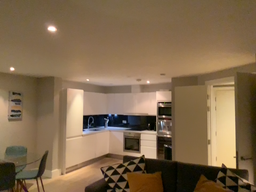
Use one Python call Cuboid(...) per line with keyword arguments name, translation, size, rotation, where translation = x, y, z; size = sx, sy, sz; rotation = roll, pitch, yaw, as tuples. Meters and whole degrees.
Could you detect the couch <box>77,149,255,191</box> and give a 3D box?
Cuboid(name="couch", translation=(0.510, 1.330, 2.550), size=(1.990, 0.980, 1.040), rotation=(-1, -3, 26))
